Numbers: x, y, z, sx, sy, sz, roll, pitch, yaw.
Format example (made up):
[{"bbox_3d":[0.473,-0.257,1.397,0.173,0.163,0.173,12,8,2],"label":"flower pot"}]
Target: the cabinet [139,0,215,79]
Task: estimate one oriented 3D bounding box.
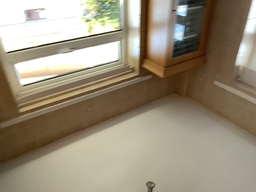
[{"bbox_3d":[0.450,-0.690,2.020,0.600,0.860,0.330,-20,-142,-27],"label":"cabinet"}]
